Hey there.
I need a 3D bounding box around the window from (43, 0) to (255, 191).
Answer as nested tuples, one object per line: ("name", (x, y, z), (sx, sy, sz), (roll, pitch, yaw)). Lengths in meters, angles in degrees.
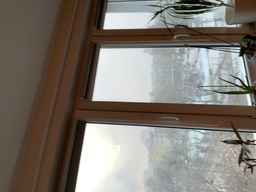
("window", (0.280, -0.120, 1.690), (0.160, 1.430, 2.060), (82, -168, -60))
